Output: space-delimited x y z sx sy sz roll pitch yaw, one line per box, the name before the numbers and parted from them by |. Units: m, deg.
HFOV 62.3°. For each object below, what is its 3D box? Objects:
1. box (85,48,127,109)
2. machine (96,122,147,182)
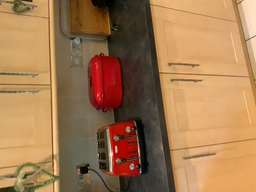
box | -0.160 -0.110 1.460 0.200 0.200 0.360 151 115 -61
machine | -0.050 0.310 1.210 0.280 0.170 0.280 152 114 -62
